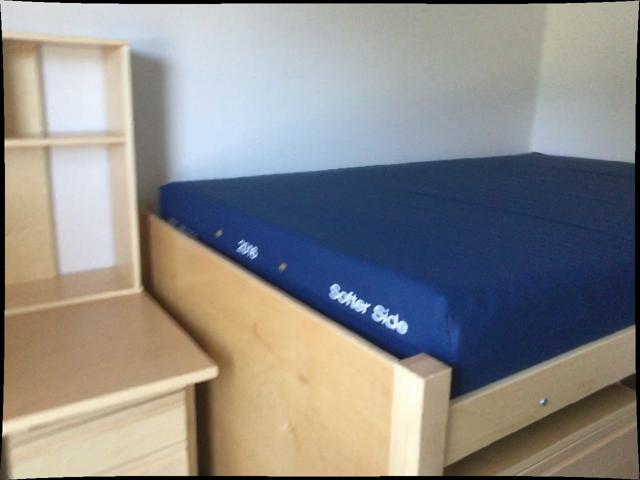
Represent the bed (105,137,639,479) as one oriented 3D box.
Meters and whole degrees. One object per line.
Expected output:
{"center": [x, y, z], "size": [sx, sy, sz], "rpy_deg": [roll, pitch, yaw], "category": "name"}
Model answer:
{"center": [0.609, 0.341, 2.090], "size": [2.198, 1.152, 1.489], "rpy_deg": [-11, 19, -32], "category": "bed"}
